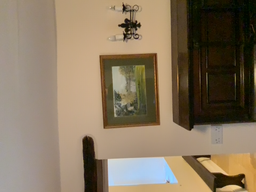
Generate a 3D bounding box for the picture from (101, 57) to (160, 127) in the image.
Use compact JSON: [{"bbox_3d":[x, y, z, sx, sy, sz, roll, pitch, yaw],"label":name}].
[{"bbox_3d":[0.020,-0.030,1.610,0.050,0.430,0.520,-134,43,-86],"label":"picture"}]
